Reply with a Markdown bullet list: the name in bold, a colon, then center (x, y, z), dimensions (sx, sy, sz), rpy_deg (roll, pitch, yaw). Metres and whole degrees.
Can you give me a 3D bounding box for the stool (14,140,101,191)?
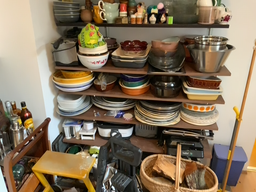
- **stool**: center (-0.440, 0.670, 1.500), dimensions (0.380, 0.510, 0.450), rpy_deg (4, 23, 7)
